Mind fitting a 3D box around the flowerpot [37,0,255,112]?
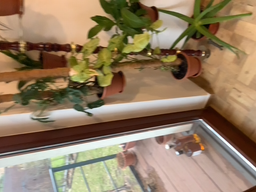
[{"bbox_3d":[0.170,-0.460,1.430,0.620,1.370,0.780,44,131,48],"label":"flowerpot"}]
